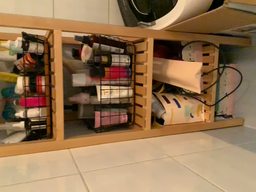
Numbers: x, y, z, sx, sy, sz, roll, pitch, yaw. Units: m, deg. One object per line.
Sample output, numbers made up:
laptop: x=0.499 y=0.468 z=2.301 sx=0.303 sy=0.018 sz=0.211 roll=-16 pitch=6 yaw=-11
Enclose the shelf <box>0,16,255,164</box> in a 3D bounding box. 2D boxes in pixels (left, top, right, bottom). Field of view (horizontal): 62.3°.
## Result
shelf: x=-0.170 y=-0.040 z=0.800 sx=0.380 sy=1.380 sz=0.370 roll=-163 pitch=72 yaw=-64
